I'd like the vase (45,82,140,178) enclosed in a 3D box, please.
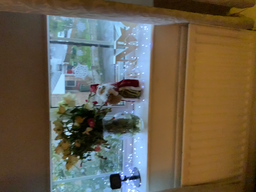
[{"bbox_3d":[-0.230,0.160,1.300,0.320,0.510,0.480,-168,78,-67],"label":"vase"}]
